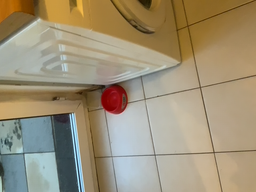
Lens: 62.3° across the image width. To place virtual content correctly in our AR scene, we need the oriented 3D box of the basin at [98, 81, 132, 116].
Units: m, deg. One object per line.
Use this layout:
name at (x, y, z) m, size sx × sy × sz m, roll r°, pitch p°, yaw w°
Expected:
basin at (-0.090, 0.020, 1.410) m, size 0.220 × 0.050 × 0.200 m, roll -12°, pitch 84°, yaw 33°
